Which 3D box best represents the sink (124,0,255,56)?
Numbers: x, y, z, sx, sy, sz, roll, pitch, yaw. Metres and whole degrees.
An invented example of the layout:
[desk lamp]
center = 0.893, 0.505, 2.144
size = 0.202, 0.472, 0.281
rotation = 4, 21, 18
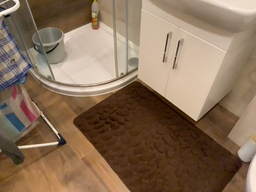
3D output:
[sink]
center = 0.320, -0.500, 0.960
size = 0.450, 0.160, 0.690
rotation = -35, 57, -27
